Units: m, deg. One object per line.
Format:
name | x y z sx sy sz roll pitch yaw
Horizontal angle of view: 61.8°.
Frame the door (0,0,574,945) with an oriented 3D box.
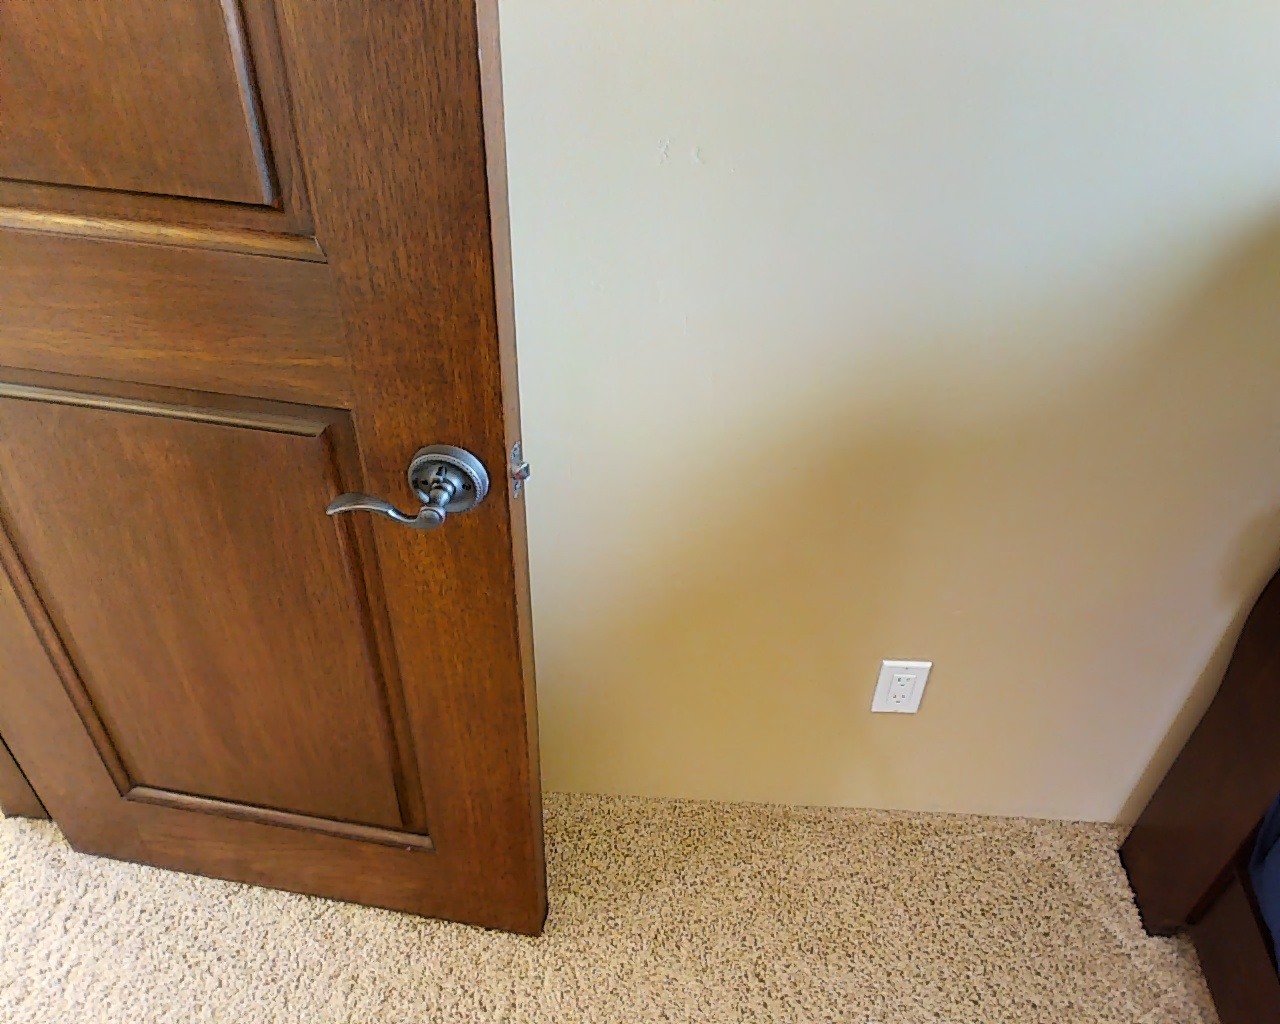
door | -0.480 -0.400 0.740 0.800 2.619 0.060 7 43 6
